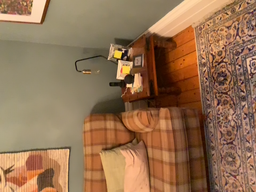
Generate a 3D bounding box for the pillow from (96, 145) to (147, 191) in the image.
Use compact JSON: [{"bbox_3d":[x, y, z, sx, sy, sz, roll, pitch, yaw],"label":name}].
[{"bbox_3d":[-0.070,0.680,1.870,0.390,0.290,0.420,-15,77,62],"label":"pillow"}]
